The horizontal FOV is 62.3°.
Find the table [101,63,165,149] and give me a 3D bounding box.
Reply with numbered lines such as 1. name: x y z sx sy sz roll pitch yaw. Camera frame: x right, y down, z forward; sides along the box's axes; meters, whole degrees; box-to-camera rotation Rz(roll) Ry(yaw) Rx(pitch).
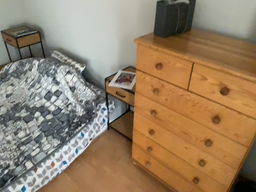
1. table: 0.040 0.090 2.100 0.450 0.630 0.370 28 42 33
